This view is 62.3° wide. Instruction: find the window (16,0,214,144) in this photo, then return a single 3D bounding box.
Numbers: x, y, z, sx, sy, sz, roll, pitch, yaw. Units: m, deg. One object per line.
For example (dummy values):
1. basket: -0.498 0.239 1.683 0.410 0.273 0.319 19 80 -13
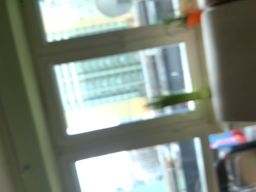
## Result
1. window: -0.080 -0.440 1.940 0.060 1.580 1.480 -131 31 -82
